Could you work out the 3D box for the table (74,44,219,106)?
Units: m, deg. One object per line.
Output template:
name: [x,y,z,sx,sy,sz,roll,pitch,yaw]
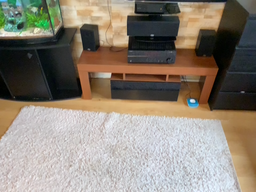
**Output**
table: [0.170,-0.220,2.220,1.320,0.450,0.380,3,42,2]
